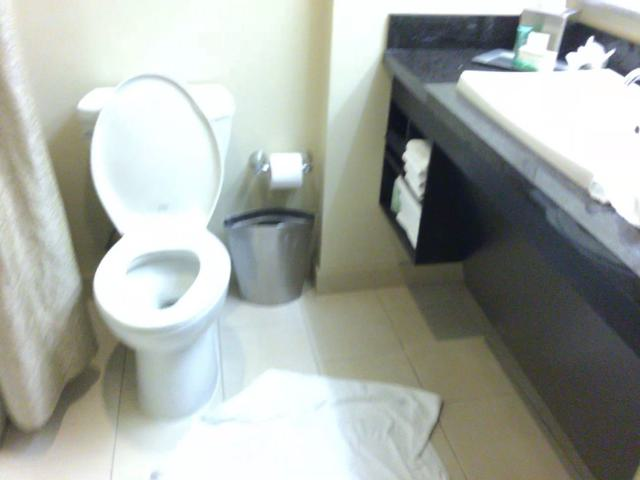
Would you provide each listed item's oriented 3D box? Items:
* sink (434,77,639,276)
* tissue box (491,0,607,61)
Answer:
[{"bbox_3d":[0.580,-0.190,1.230,0.430,0.130,0.730,-4,30,-9],"label":"sink"},{"bbox_3d":[0.660,-0.640,1.690,0.220,0.180,0.200,-4,30,-9],"label":"tissue box"}]
